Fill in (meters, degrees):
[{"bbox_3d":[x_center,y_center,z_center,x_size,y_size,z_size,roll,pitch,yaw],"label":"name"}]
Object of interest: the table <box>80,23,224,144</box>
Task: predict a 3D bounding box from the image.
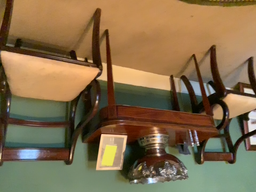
[{"bbox_3d":[0.150,-0.030,1.660,0.930,0.700,0.450,8,152,-26],"label":"table"}]
